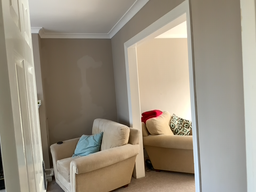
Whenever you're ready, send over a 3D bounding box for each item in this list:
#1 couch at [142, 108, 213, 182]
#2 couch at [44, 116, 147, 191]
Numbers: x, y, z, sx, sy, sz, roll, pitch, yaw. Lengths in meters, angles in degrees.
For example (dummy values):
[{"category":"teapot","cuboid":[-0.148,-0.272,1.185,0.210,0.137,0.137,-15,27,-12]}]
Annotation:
[{"category":"couch","cuboid":[0.900,0.730,3.650,0.980,0.880,1.160,-2,4,20]},{"category":"couch","cuboid":[-0.520,0.860,3.140,1.040,0.880,1.190,-6,5,-35]}]
